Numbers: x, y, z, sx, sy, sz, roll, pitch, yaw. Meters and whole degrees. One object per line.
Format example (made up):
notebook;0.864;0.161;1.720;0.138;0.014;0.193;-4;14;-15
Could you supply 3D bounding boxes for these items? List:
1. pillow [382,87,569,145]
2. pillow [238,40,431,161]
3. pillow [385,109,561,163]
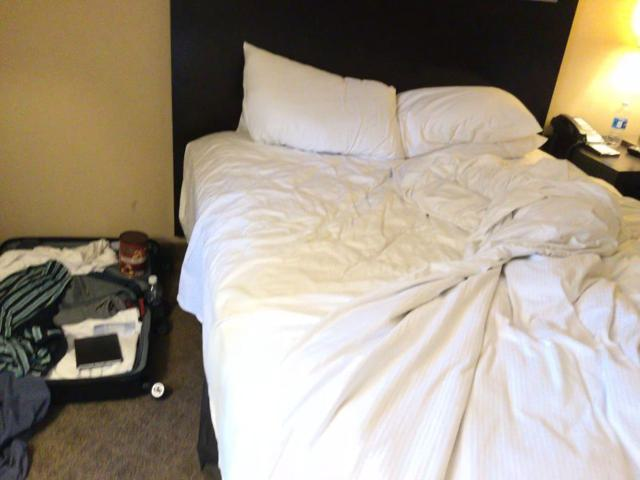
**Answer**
pillow;0.590;-0.500;2.280;0.570;0.120;0.430;-4;26;-14
pillow;0.040;-0.530;2.180;0.660;0.360;0.300;2;25;-2
pillow;0.600;-0.430;2.340;0.570;0.110;0.380;-4;26;-14
